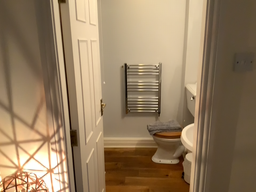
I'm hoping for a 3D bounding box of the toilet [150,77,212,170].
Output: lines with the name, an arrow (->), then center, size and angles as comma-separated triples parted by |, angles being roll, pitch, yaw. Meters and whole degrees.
toilet -> 0.590, 0.310, 2.600 | 0.610, 1.000, 0.530 | 0, 16, 3
